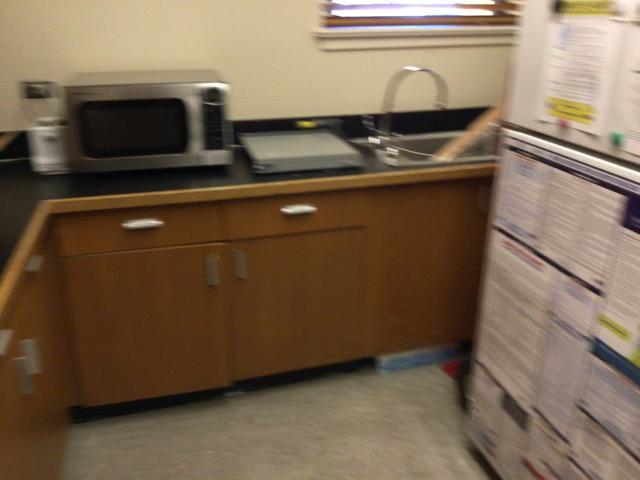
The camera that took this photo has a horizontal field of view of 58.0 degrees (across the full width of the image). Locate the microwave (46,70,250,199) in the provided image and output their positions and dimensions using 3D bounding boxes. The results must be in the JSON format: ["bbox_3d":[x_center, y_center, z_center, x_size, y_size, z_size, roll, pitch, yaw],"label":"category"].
[{"bbox_3d":[-0.600,-0.410,2.090,0.590,0.340,0.530,-7,21,-15],"label":"microwave"}]

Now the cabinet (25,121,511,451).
[{"bbox_3d":[-0.160,0.090,2.260,1.550,0.910,0.630,-7,21,-15],"label":"cabinet"}]

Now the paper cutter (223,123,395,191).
[{"bbox_3d":[-0.070,-0.330,2.170,0.510,0.100,0.580,-7,21,-15],"label":"paper cutter"}]
